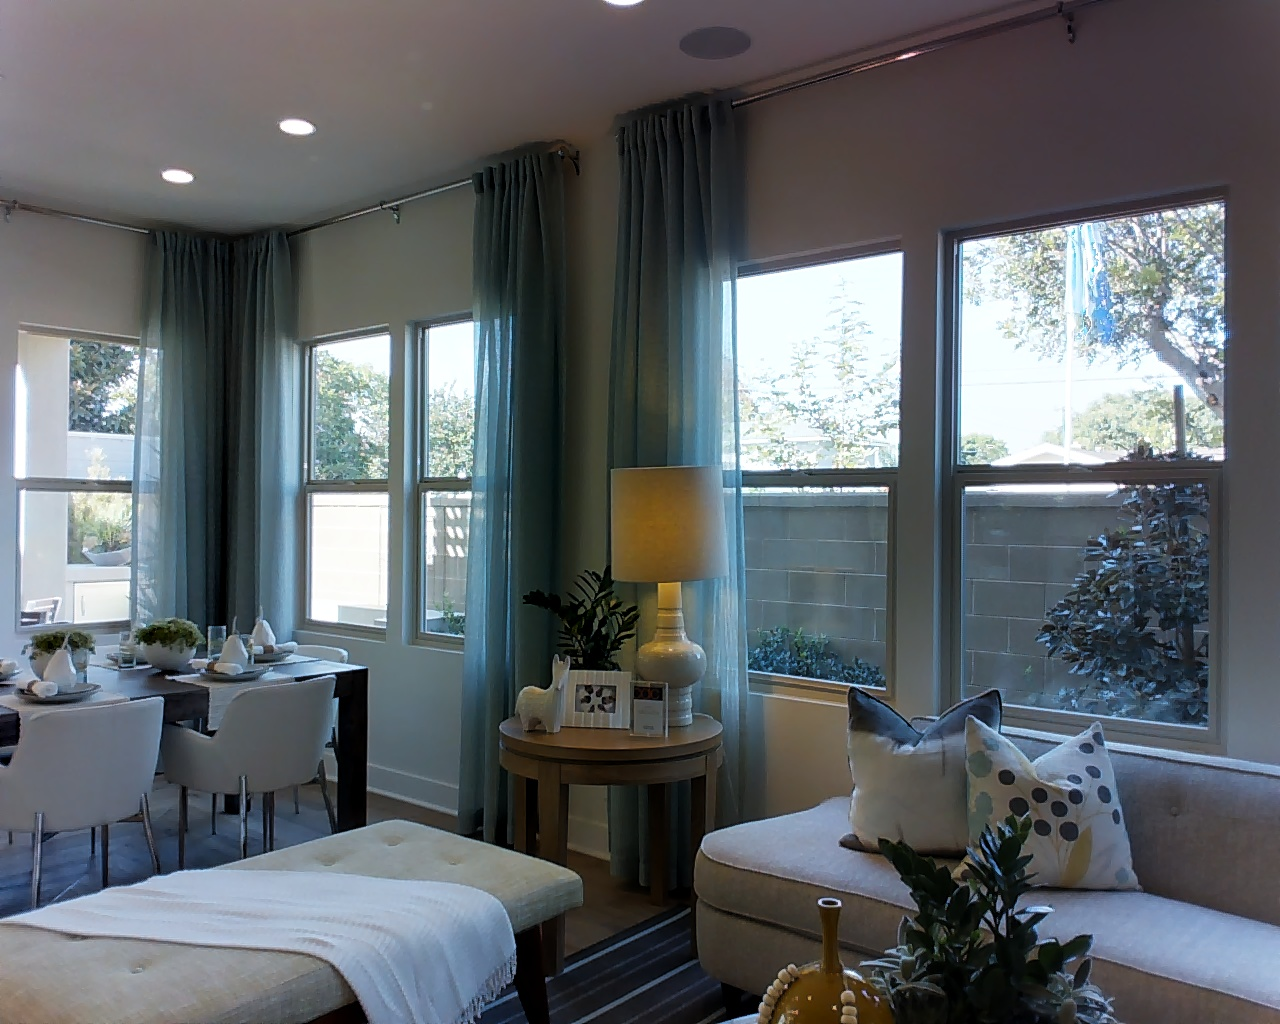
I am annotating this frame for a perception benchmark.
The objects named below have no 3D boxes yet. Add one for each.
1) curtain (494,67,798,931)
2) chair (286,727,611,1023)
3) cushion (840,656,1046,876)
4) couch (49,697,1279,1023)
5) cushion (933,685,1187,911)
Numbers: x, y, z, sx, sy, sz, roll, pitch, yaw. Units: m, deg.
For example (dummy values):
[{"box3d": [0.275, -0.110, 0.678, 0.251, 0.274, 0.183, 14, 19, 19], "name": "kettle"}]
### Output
[{"box3d": [-0.020, -0.050, 4.320, 1.260, 3.051, 0.340, 2, 1, 41], "name": "curtain"}, {"box3d": [-0.480, 1.020, 2.740, 0.530, 0.770, 0.610, 2, 1, 38], "name": "chair"}, {"box3d": [0.880, 0.740, 3.110, 0.470, 0.500, 0.390, 9, -15, 19], "name": "cushion"}, {"box3d": [1.010, 1.080, 1.800, 3.069, 0.790, 2.600, 2, 1, 41], "name": "couch"}, {"box3d": [1.110, 0.750, 2.860, 0.510, 0.460, 0.300, 12, -13, 2], "name": "cushion"}]
